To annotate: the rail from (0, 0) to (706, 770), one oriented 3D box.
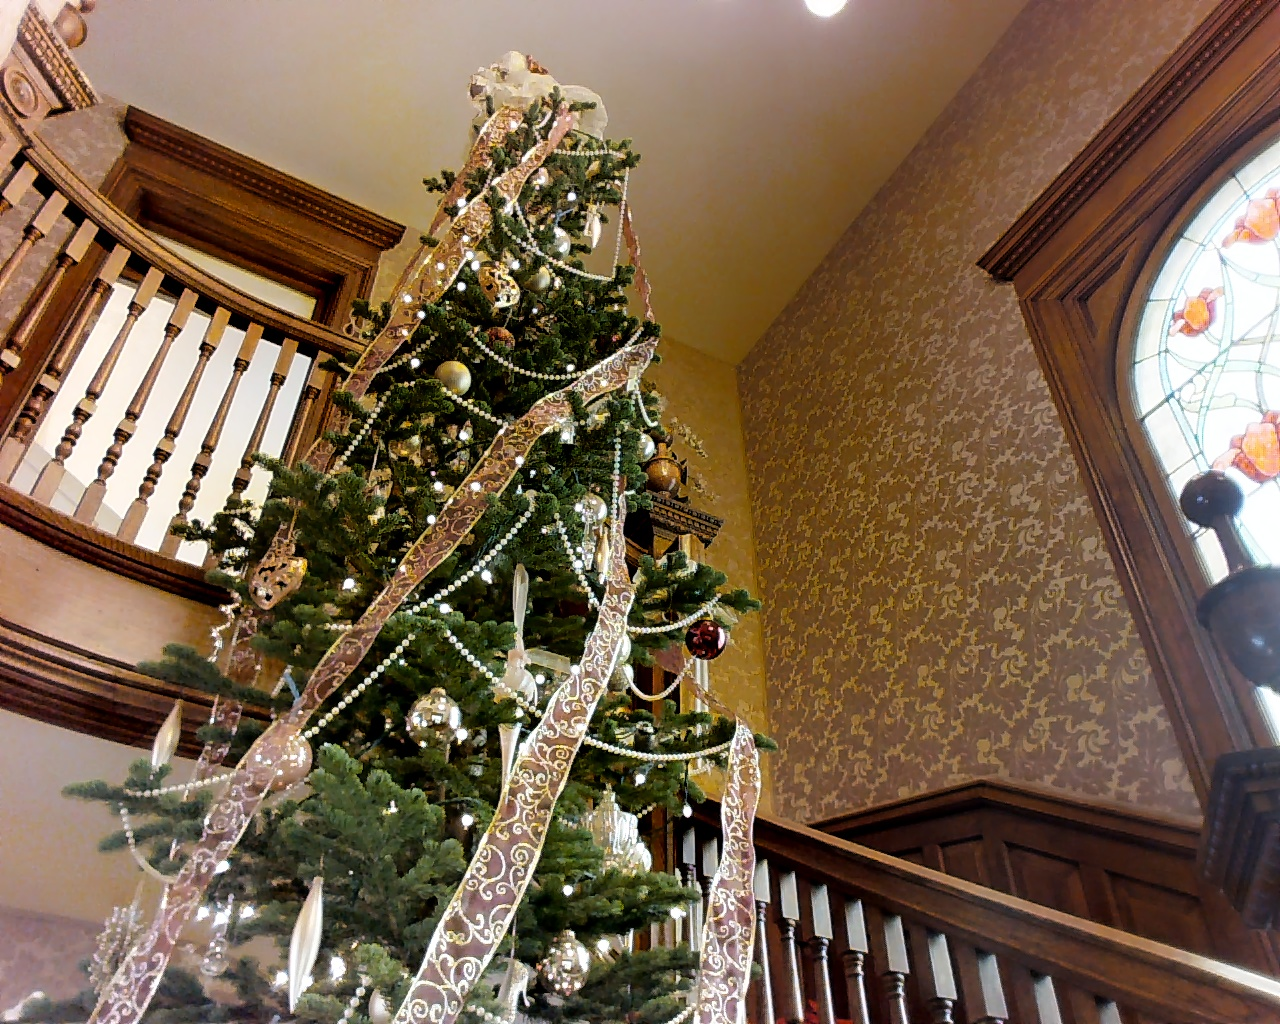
[{"bbox_3d":[-0.780,-0.470,2.460,1.720,1.560,0.670,21,-46,-21],"label":"rail"}]
